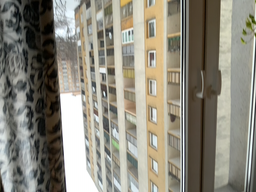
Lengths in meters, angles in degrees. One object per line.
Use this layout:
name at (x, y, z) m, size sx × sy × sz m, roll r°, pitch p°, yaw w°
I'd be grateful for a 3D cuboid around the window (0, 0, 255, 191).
window at (-0.110, 0.040, 0.980) m, size 1.850 × 1.620 × 0.330 m, roll -7°, pitch -168°, yaw -27°
